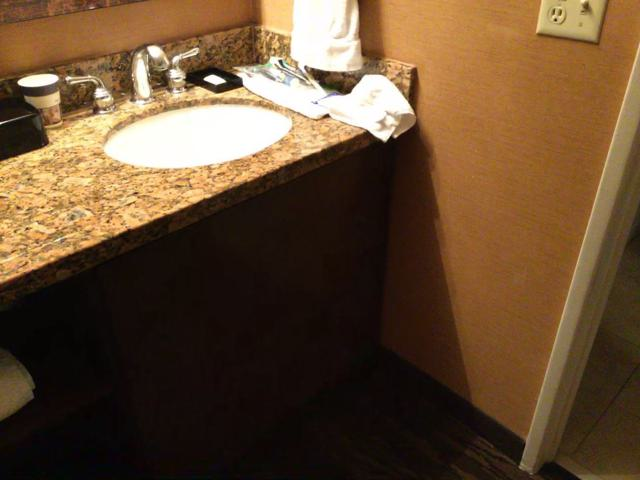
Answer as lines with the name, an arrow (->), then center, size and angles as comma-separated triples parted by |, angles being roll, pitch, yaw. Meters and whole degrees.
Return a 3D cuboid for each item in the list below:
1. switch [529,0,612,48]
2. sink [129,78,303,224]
switch -> 0.430, -0.400, 0.990 | 0.120, 0.110, 0.020 | 30, 45, 34
sink -> -0.230, -0.220, 1.340 | 0.250, 0.180, 0.290 | 30, 45, 34
